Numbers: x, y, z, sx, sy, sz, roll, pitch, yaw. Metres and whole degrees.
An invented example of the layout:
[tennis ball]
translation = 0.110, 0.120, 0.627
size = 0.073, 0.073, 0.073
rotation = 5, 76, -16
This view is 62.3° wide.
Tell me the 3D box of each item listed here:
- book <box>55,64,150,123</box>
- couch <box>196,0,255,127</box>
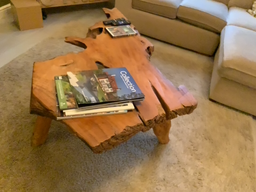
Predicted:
[book]
translation = -0.120, -0.030, 0.960
size = 0.360, 0.060, 0.260
rotation = -9, 46, -22
[couch]
translation = 1.200, -0.230, 1.750
size = 0.950, 0.640, 0.810
rotation = 23, 43, 10
